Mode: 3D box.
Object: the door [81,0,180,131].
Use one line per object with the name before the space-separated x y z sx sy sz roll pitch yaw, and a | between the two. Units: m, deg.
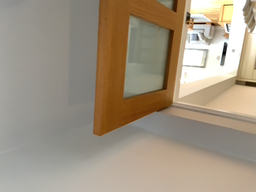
door | 0.100 -0.820 0.880 0.120 1.840 0.620 12 -166 30
